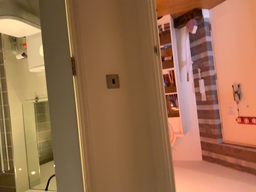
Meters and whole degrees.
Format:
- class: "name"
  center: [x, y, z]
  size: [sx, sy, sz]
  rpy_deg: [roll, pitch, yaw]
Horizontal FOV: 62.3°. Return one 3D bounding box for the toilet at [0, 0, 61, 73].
- class: "toilet"
  center: [-1.120, -0.720, 2.160]
  size: [0.450, 0.870, 0.640]
  rpy_deg: [-6, 180, 19]
